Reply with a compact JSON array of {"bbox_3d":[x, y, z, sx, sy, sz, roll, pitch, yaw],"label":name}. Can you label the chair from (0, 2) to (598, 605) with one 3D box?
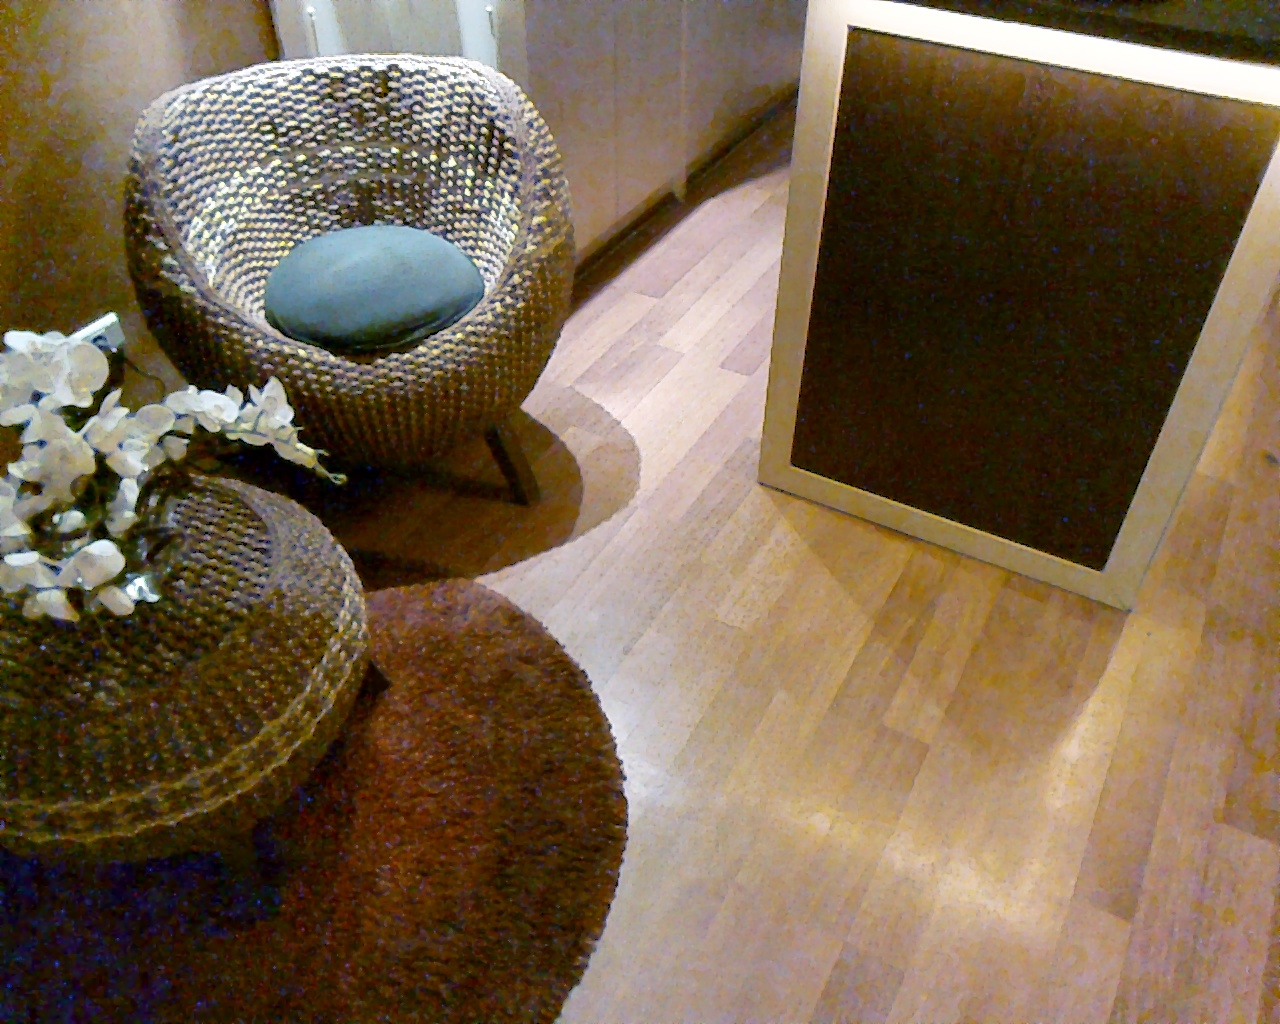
[{"bbox_3d":[-0.670,-0.470,2.280,0.940,0.830,0.660,22,46,21],"label":"chair"}]
